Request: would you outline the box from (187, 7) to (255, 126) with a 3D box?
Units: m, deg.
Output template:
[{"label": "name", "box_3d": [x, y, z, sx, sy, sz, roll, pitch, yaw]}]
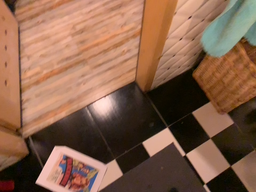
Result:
[{"label": "box", "box_3d": [0.630, -0.160, 1.030, 0.440, 0.490, 0.330, -31, 74, -12]}]
